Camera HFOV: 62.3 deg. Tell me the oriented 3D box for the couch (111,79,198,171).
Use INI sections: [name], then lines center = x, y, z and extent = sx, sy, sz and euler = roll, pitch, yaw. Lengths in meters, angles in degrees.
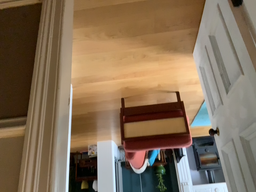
[couch]
center = 0.320, 0.540, 3.000
extent = 0.830, 0.770, 1.650
euler = -6, 155, 3
